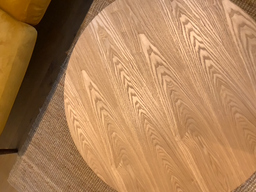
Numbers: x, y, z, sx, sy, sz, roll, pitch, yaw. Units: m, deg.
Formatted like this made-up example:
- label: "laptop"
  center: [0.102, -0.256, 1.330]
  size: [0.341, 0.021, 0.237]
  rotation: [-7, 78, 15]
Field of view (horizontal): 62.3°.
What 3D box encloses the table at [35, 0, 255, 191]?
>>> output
- label: "table"
  center: [0.140, 0.000, 0.930]
  size: [0.800, 0.360, 0.810]
  rotation: [27, 101, 18]
